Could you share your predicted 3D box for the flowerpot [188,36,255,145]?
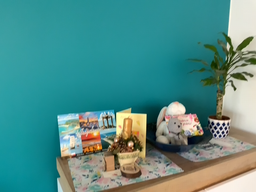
[{"bbox_3d":[0.670,-0.060,1.410,0.300,0.610,0.380,-6,12,-33],"label":"flowerpot"}]
